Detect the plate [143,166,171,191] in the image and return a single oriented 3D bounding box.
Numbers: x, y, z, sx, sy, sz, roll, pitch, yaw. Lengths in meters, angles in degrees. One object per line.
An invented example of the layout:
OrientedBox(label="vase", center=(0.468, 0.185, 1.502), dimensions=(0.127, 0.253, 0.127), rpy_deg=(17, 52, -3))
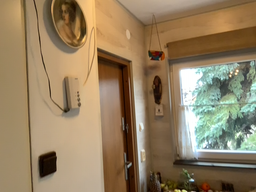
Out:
OrientedBox(label="plate", center=(0.300, 0.840, 2.150), dimensions=(0.170, 0.160, 0.320), rpy_deg=(-5, -2, 30))
